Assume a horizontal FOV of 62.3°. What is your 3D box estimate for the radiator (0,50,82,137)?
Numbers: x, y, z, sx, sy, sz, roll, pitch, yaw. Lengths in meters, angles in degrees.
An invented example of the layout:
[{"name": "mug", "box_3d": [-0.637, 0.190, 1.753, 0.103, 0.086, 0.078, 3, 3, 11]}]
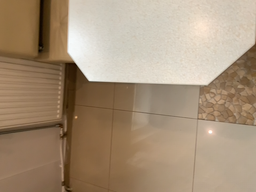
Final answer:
[{"name": "radiator", "box_3d": [-0.600, -0.020, 1.350, 0.130, 0.740, 0.450, 7, 94, 26]}]
